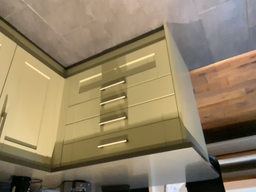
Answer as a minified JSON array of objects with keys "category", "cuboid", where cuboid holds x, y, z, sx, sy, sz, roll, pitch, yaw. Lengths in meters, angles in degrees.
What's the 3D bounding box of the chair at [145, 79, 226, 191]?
[{"category":"chair","cuboid":[0.520,0.460,2.050,0.490,1.080,0.400,23,141,-36]}]
